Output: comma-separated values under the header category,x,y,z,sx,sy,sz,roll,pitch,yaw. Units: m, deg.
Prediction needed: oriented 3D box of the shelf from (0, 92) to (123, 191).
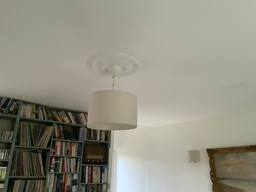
category,x,y,z,sx,sy,sz,roll,pitch,yaw
shelf,-1.100,1.340,2.900,2.170,2.500,0.380,13,-22,-33
